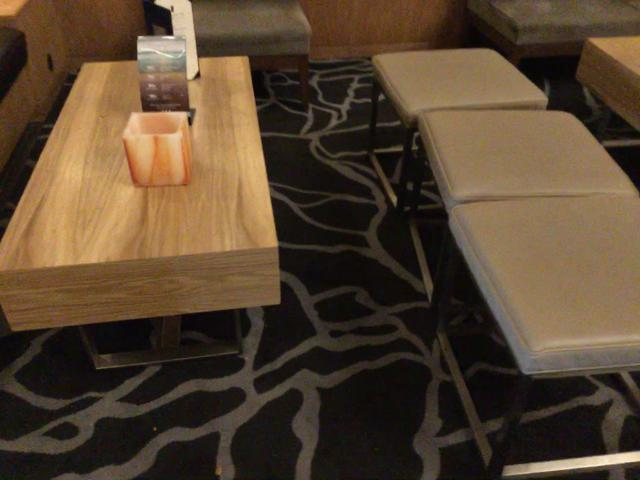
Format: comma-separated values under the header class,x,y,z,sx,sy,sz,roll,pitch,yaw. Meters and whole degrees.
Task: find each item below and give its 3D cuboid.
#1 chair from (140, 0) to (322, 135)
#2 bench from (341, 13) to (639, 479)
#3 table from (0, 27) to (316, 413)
class,x,y,z,sx,sy,sz,roll,pitch,yaw
chair,-0.410,-1.040,2.740,0.700,0.780,0.600,-9,42,-4
bench,0.540,-0.170,1.770,0.750,0.460,1.750,-5,38,-2
table,-0.470,-0.200,1.800,0.720,0.450,1.310,-7,38,-5
